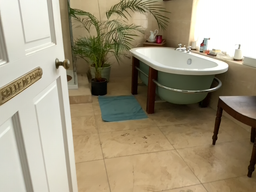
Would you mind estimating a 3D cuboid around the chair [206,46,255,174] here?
[{"bbox_3d":[1.000,0.070,1.610,0.480,0.820,0.460,-5,21,-14],"label":"chair"}]
